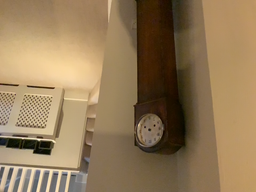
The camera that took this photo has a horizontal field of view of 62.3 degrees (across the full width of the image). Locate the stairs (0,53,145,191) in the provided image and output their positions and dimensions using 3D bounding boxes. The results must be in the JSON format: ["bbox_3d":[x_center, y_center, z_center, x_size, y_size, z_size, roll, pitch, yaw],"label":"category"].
[{"bbox_3d":[-1.580,1.210,3.180,3.480,3.080,1.930,3,158,3],"label":"stairs"}]
